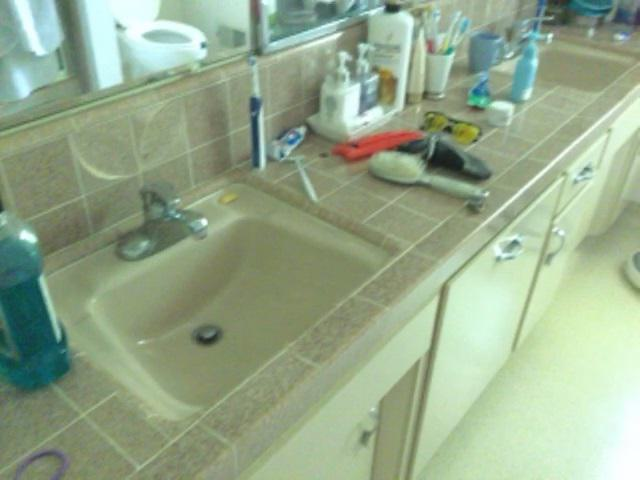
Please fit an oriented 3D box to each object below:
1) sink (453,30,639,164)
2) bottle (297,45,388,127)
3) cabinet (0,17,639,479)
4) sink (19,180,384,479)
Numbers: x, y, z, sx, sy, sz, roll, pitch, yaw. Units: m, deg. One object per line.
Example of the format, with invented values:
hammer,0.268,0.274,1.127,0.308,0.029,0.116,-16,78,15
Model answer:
sink,0.700,-0.460,1.770,0.350,0.190,0.480,28,44,31
bottle,0.050,-0.350,1.300,0.140,0.120,0.140,29,44,36
cabinet,0.210,0.090,1.490,0.520,0.710,2.670,26,42,33
sink,-0.170,0.120,0.960,0.330,0.190,0.460,27,43,34
